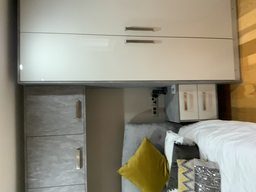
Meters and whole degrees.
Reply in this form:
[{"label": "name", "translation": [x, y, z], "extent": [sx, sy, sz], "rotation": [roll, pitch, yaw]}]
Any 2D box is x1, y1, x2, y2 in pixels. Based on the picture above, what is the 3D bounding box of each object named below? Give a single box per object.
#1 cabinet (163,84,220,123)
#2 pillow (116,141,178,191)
[{"label": "cabinet", "translation": [0.750, 0.090, 2.590], "extent": [0.460, 0.500, 0.430], "rotation": [167, 102, -79]}, {"label": "pillow", "translation": [0.210, 0.810, 2.350], "extent": [0.440, 0.510, 0.180], "rotation": [-34, 26, 23]}]
